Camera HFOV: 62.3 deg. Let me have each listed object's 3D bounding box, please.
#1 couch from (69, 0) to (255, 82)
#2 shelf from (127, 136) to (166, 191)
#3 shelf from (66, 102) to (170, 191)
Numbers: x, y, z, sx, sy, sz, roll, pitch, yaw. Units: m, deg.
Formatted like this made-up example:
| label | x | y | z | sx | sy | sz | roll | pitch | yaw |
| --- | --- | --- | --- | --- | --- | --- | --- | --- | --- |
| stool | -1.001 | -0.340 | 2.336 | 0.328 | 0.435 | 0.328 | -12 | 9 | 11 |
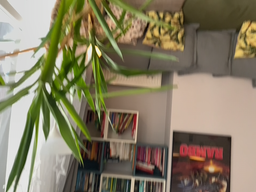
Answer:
| label | x | y | z | sx | sy | sz | roll | pitch | yaw |
| --- | --- | --- | --- | --- | --- | --- | --- | --- | --- |
| couch | 0.830 | -0.730 | 2.010 | 2.430 | 0.900 | 0.920 | 5 | 172 | 1 |
| shelf | 0.200 | 0.910 | 2.440 | 0.390 | 0.840 | 0.240 | 5 | 172 | 2 |
| shelf | -0.100 | 0.730 | 2.470 | 1.050 | 1.190 | 0.350 | 5 | 172 | 1 |
